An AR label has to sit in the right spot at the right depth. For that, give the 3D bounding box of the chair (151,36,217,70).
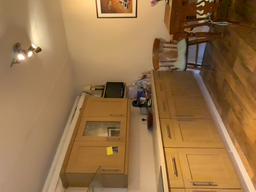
[{"bbox_3d":[0.860,-0.690,3.450,0.600,0.890,0.490,-83,-7,-80],"label":"chair"}]

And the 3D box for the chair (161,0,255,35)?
[{"bbox_3d":[0.840,-1.030,2.200,0.660,0.880,0.550,-88,-2,-52],"label":"chair"}]

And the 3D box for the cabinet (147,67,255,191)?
[{"bbox_3d":[0.810,0.740,2.750,3.450,0.920,0.570,-88,-2,-53],"label":"cabinet"}]
